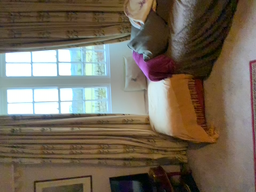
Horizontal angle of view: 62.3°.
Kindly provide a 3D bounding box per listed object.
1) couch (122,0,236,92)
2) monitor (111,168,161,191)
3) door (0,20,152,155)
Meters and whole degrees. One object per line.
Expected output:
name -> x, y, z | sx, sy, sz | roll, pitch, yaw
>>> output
couch -> 0.500, -1.130, 2.270 | 1.020, 0.780, 1.900 | -113, 25, -55
monitor -> 0.150, 1.300, 2.530 | 0.880, 0.580, 0.070 | -108, 21, -49
door -> -0.770, -0.170, 3.100 | 0.120, 2.200, 1.810 | 152, 115, -75
